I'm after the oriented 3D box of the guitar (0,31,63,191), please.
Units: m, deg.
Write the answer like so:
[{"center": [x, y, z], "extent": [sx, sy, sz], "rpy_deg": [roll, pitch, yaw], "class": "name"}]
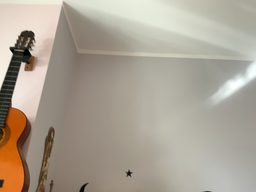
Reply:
[{"center": [-0.610, 0.100, 1.070], "extent": [0.360, 0.900, 0.200], "rpy_deg": [3, -25, -1], "class": "guitar"}]
